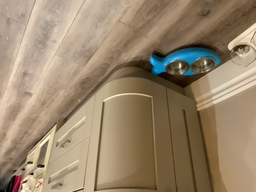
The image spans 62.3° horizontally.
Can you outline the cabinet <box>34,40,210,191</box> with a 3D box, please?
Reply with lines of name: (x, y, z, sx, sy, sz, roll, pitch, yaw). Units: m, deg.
cabinet: (-0.140, 0.390, 1.520, 0.630, 0.880, 1.110, 21, 143, -29)
